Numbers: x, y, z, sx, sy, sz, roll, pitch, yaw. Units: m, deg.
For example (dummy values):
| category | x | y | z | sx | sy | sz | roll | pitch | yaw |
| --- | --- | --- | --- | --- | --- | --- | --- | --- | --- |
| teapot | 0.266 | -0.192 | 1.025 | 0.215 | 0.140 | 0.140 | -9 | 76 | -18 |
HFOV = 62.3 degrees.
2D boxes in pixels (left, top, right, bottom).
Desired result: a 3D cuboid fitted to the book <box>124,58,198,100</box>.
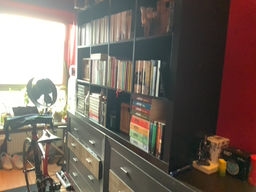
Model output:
| category | x | y | z | sx | sy | sz | roll | pitch | yaw |
| --- | --- | --- | --- | --- | --- | --- | --- | --- | --- |
| book | 0.210 | -0.120 | 1.410 | 0.360 | 0.230 | 0.300 | -2 | 9 | -33 |

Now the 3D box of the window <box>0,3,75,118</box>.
| category | x | y | z | sx | sy | sz | roll | pitch | yaw |
| --- | --- | --- | --- | --- | --- | --- | --- | --- | --- |
| window | -1.460 | -0.490 | 3.270 | 1.240 | 1.610 | 0.070 | -1 | 9 | -30 |

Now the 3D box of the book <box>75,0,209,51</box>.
| category | x | y | z | sx | sy | sz | roll | pitch | yaw |
| --- | --- | --- | --- | --- | --- | --- | --- | --- | --- |
| book | -0.030 | -0.570 | 1.770 | 0.320 | 0.330 | 1.340 | -2 | 10 | -36 |

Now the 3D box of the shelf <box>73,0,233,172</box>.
| category | x | y | z | sx | sy | sz | roll | pitch | yaw |
| --- | --- | --- | --- | --- | --- | --- | --- | --- | --- |
| shelf | 0.010 | -0.480 | 1.750 | 0.400 | 1.550 | 1.510 | -2 | 9 | -33 |
